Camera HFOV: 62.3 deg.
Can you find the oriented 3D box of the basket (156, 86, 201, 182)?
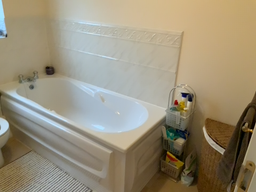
[{"bbox_3d":[0.410,0.330,1.780,0.200,0.770,0.200,19,29,32],"label":"basket"}]

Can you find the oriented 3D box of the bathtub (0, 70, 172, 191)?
[{"bbox_3d":[-0.510,0.260,2.140,1.680,0.560,0.700,19,29,31],"label":"bathtub"}]
